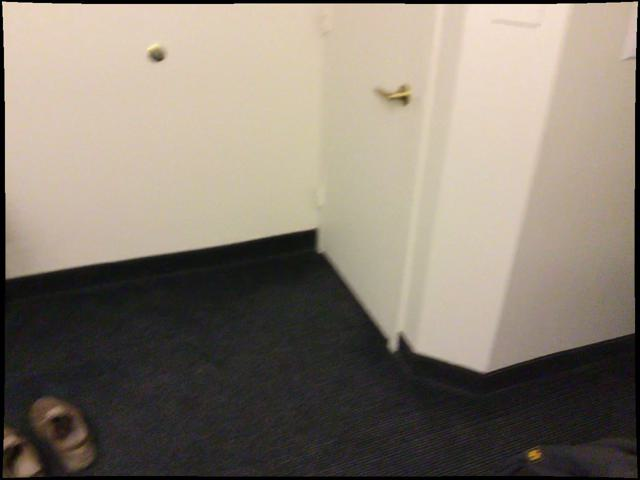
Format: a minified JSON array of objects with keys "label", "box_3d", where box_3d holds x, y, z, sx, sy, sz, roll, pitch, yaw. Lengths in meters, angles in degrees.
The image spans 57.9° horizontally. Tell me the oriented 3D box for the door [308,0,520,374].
[{"label":"door","box_3d":[0.230,-0.691,1.870,0.130,2.122,1.000,-11,34,-20]}]
